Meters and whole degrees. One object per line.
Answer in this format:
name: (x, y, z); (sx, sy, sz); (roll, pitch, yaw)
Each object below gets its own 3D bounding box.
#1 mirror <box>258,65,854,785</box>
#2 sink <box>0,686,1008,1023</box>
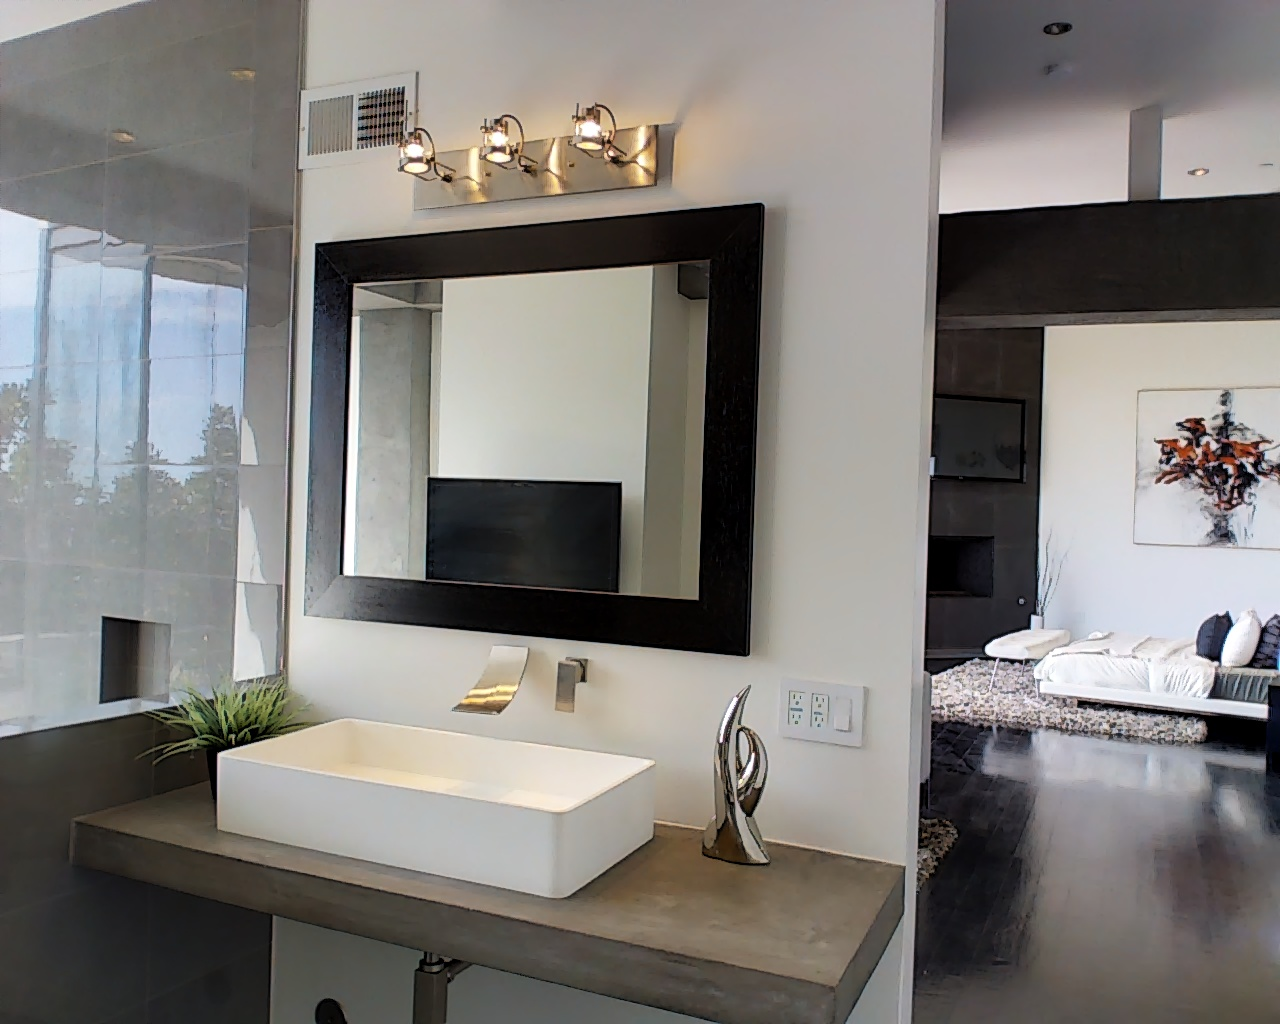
mirror: (-0.280, -0.190, 2.420); (0.980, 1.200, 0.270); (45, 23, 28)
sink: (-0.280, 0.740, 2.120); (1.650, 0.640, 0.910); (2, 0, -9)
